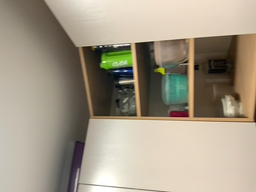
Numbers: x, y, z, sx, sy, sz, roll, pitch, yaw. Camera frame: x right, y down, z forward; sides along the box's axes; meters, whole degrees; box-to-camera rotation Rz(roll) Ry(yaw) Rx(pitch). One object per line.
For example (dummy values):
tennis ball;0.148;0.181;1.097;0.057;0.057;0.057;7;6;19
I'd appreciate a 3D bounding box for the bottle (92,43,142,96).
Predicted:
bottle;-0.050;-0.190;1.390;0.410;0.210;0.290;-50;-42;-71
